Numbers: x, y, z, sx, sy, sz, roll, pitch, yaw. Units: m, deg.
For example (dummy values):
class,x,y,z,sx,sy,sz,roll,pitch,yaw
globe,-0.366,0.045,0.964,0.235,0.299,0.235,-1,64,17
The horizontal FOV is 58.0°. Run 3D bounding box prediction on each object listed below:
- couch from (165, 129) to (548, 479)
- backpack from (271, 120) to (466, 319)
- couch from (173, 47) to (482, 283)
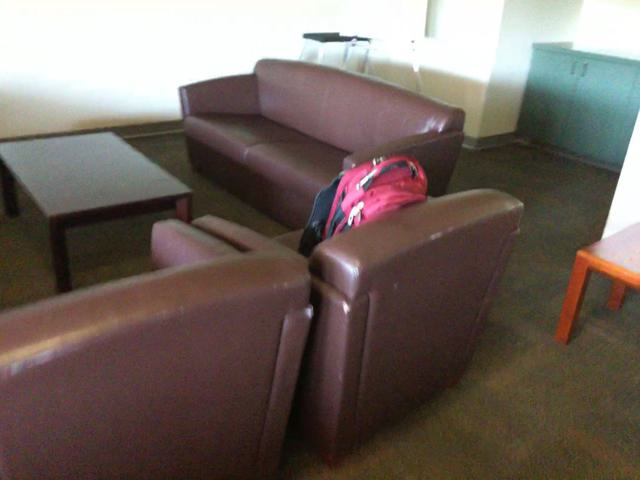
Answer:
class,x,y,z,sx,sy,sz,roll,pitch,yaw
couch,0.100,0.150,1.900,0.840,0.740,0.790,-20,33,-37
backpack,0.130,-0.080,1.740,0.350,0.470,0.360,-5,24,-39
couch,-0.040,-0.520,3.110,0.800,0.780,1.470,-20,33,-36
